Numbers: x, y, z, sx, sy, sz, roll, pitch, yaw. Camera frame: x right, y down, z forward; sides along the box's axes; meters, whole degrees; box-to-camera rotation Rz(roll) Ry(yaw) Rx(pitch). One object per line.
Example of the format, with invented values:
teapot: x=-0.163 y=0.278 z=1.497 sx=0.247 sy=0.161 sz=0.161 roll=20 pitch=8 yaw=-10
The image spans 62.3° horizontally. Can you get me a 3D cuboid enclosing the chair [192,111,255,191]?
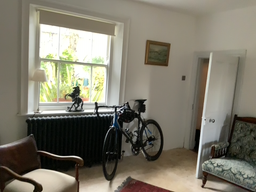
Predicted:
chair: x=1.390 y=0.750 z=2.740 sx=0.690 sy=0.910 sz=0.800 roll=11 pitch=11 yaw=44
